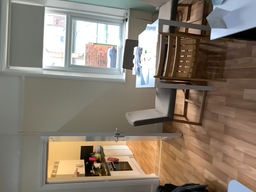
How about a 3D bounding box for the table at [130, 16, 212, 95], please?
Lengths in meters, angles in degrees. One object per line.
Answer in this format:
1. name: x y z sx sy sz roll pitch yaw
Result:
1. table: 0.520 -0.480 2.820 0.730 0.750 0.840 -162 76 -75
